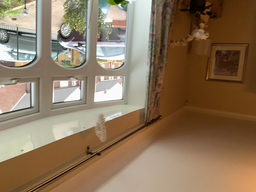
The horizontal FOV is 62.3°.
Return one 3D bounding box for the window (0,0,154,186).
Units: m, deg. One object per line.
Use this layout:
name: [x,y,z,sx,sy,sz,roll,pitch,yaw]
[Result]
window: [-0.490,-0.370,1.500,0.480,1.450,1.990,10,-169,30]
